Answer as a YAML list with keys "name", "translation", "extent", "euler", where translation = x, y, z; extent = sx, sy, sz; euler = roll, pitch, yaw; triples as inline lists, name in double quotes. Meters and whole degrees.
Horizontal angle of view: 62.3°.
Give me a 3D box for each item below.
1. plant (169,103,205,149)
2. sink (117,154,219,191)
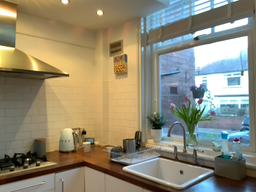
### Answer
- name: "plant"
  translation: [0.540, 0.260, 1.940]
  extent: [0.240, 0.380, 0.210]
  euler: [0, -2, -40]
- name: "sink"
  translation: [0.290, 0.630, 1.570]
  extent: [0.500, 0.210, 0.550]
  euler: [-1, -2, -43]
